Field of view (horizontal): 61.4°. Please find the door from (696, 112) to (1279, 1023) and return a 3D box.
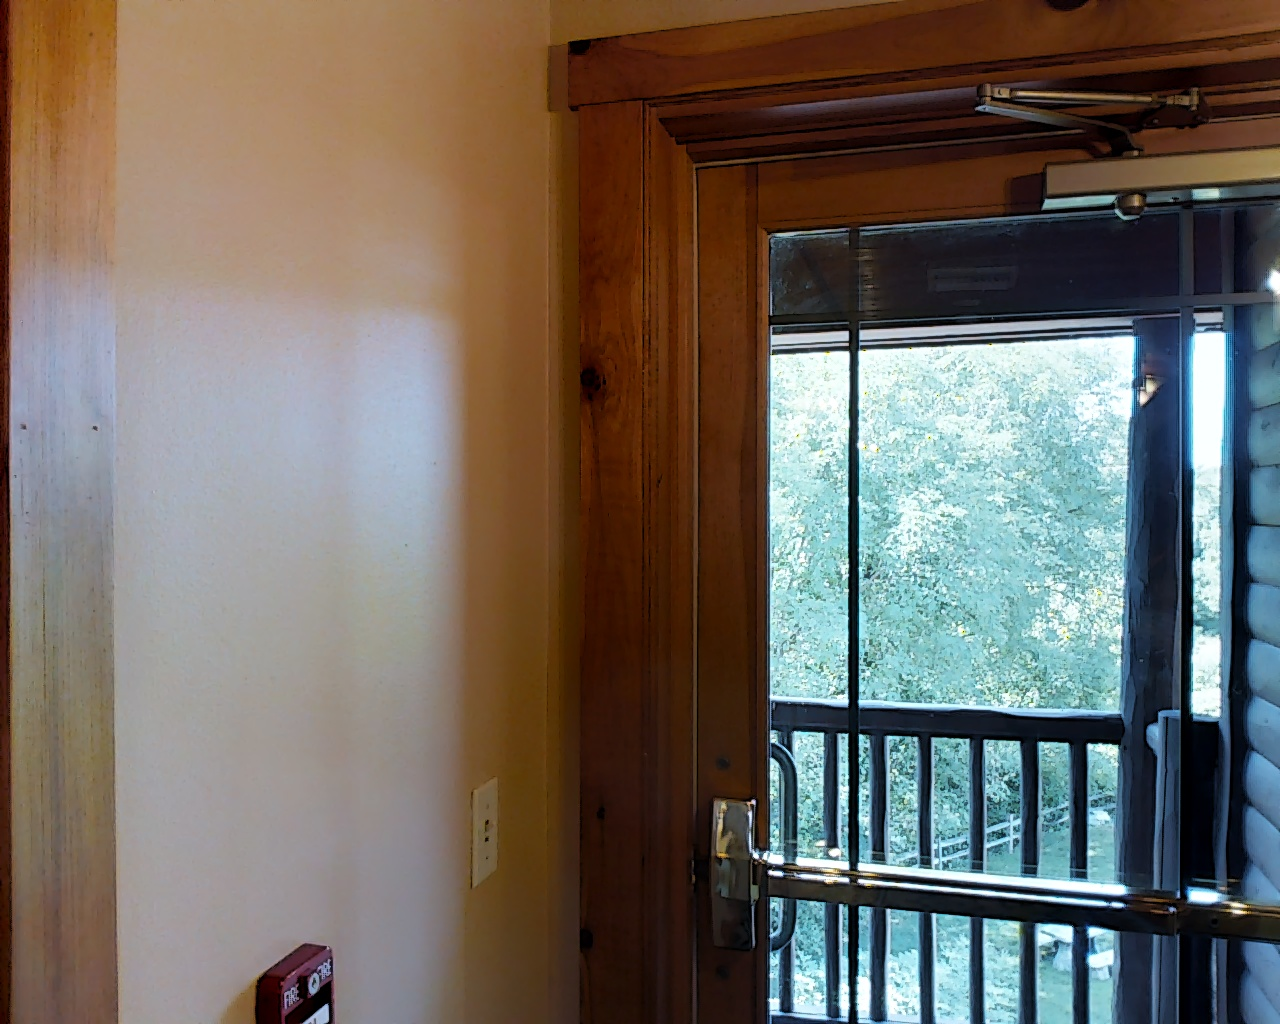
[{"bbox_3d":[0.520,0.500,1.470,0.890,2.010,0.070,0,-1,15],"label":"door"}]
